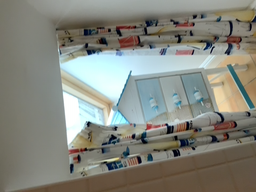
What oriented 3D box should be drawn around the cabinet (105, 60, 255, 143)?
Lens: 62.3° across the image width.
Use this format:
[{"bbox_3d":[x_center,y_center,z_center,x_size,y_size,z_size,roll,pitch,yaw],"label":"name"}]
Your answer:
[{"bbox_3d":[0.360,0.030,1.440,0.300,0.960,0.350,116,144,-67],"label":"cabinet"}]
